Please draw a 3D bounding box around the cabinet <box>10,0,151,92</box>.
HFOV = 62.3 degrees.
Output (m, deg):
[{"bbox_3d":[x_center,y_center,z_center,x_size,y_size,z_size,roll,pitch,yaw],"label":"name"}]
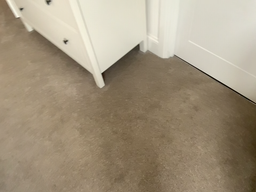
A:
[{"bbox_3d":[-0.400,-0.730,1.330,0.520,0.930,1.000,-39,61,-20],"label":"cabinet"}]
